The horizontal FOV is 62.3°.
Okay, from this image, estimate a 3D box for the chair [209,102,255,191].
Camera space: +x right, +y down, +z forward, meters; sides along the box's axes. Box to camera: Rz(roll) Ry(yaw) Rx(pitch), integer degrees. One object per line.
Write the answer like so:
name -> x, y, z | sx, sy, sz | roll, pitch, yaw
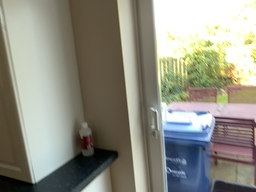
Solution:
chair -> 1.350, 0.590, 2.660 | 0.550, 0.900, 0.640 | 0, 13, 26
